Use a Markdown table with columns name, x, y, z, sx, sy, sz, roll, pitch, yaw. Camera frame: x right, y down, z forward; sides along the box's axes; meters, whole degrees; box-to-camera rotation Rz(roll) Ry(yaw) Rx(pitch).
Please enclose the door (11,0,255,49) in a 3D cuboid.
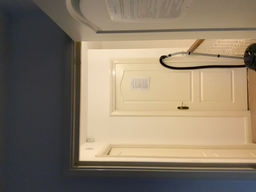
| name | x | y | z | sx | sy | sz | roll | pitch | yaw |
| --- | --- | --- | --- | --- | --- | --- | --- | --- | --- |
| door | 0.660 | -0.320 | 0.940 | 0.690 | 2.010 | 0.040 | -1 | -89 | -87 |
